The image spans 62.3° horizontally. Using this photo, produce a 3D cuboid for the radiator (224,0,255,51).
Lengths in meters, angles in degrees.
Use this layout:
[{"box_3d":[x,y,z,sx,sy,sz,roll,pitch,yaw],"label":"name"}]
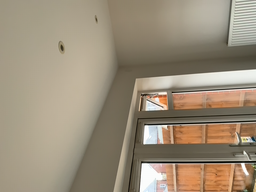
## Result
[{"box_3d":[1.560,-1.030,2.680,0.150,0.550,0.860,-78,-18,-57],"label":"radiator"}]
